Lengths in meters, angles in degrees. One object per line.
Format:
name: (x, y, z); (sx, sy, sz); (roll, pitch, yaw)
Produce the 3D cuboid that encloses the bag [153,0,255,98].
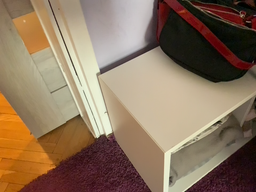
bag: (0.250, -0.200, 0.560); (0.250, 0.210, 0.270); (-29, 48, -18)
